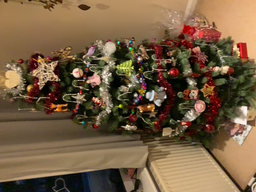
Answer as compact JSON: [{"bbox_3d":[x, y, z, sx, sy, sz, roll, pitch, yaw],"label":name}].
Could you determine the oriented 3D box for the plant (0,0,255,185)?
[{"bbox_3d":[-0.050,-0.100,1.750,1.100,1.690,1.160,149,118,-65],"label":"plant"}]
